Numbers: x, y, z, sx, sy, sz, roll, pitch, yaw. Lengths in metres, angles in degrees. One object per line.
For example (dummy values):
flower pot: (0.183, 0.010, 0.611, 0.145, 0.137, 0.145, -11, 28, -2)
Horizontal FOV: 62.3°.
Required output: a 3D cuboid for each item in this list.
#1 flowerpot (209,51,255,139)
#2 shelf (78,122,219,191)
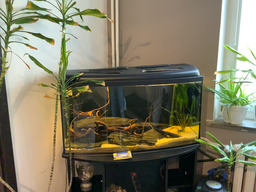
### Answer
flowerpot: (0.940, -0.040, 1.840, 0.370, 0.690, 0.340, 5, 13, 25)
shelf: (0.130, 0.690, 1.780, 0.950, 0.670, 0.640, -5, 12, -22)
